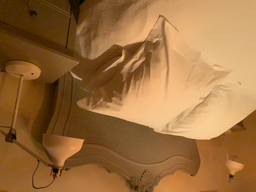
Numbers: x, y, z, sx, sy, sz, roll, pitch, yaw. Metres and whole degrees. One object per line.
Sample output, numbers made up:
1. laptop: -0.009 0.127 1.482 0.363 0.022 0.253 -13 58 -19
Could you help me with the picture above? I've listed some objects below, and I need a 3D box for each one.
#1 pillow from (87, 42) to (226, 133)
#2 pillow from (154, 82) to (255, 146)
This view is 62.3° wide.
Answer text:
1. pillow: 0.160 0.020 1.310 0.570 0.250 0.600 18 153 -38
2. pillow: 0.690 0.210 1.830 0.680 0.300 0.610 -19 151 41
